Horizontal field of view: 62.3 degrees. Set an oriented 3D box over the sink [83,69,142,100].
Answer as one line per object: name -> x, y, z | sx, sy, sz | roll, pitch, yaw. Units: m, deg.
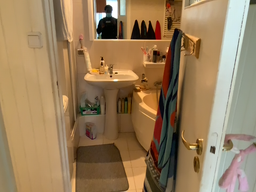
sink -> -0.190, -0.150, 2.470 | 0.620, 0.220, 0.480 | -1, 21, -7
